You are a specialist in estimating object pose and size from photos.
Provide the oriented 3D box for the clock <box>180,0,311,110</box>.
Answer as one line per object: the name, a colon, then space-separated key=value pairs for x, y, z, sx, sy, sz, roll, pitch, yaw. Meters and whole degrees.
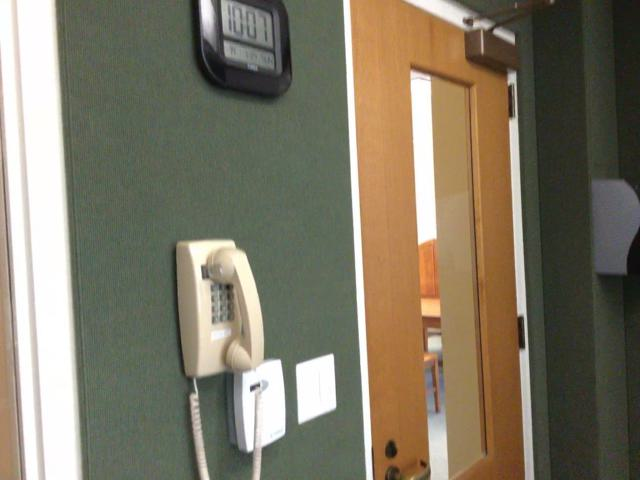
clock: x=-0.130 y=-0.370 z=1.070 sx=0.060 sy=0.210 sz=0.260 roll=-3 pitch=0 yaw=41

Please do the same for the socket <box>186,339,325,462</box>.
socket: x=-0.110 y=0.270 z=1.020 sx=0.120 sy=0.150 sz=0.210 roll=-3 pitch=0 yaw=42

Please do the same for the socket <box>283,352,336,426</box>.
socket: x=-0.020 y=0.300 z=1.180 sx=0.020 sy=0.120 sz=0.130 roll=-3 pitch=0 yaw=42
